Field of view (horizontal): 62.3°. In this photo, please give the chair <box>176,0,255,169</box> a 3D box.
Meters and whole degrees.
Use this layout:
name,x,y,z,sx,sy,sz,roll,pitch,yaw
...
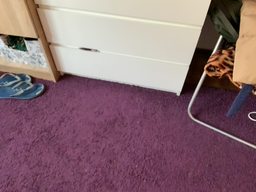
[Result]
name,x,y,z,sx,sy,sz,roll,pitch,yaw
chair,0.720,-0.180,1.080,0.540,0.750,0.770,25,56,17
